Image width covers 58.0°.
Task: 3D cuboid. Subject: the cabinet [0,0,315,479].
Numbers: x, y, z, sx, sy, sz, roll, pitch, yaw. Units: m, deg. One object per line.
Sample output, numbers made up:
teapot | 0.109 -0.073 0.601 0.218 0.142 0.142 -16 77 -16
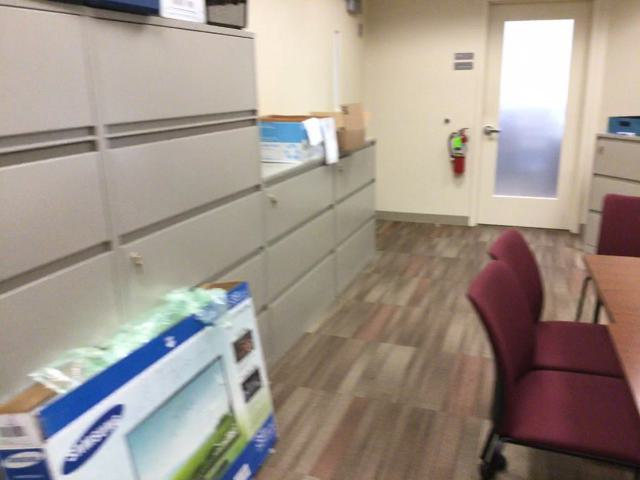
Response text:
cabinet | -0.740 0.020 1.980 0.550 1.690 2.350 3 18 20

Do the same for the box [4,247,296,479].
box | -0.460 0.580 1.960 0.300 0.780 1.090 12 21 18

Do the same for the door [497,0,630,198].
door | 2.010 -1.470 4.860 0.940 2.250 0.230 3 24 20

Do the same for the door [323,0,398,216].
door | 0.380 -1.430 5.080 0.330 2.310 0.710 6 19 29

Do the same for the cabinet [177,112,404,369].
cabinet | 0.010 -0.200 3.840 0.600 1.050 2.240 3 18 20
